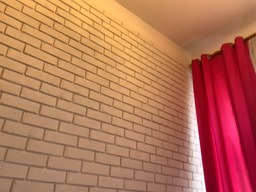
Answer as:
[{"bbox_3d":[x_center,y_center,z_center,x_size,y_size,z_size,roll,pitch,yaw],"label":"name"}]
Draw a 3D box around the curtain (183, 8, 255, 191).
[{"bbox_3d":[0.970,0.550,1.940,0.240,3.040,0.670,22,-32,-34],"label":"curtain"}]
